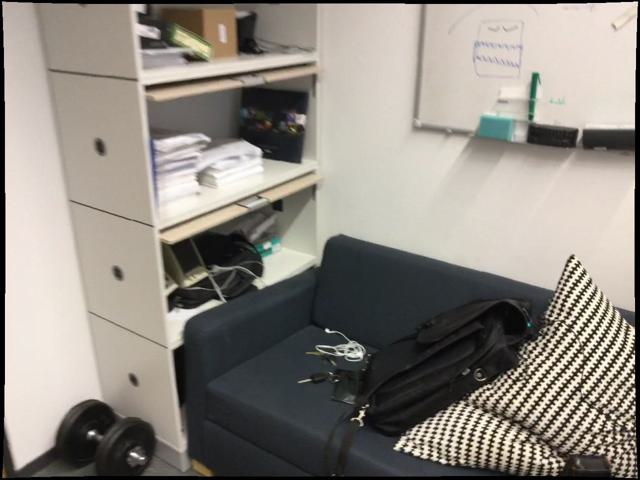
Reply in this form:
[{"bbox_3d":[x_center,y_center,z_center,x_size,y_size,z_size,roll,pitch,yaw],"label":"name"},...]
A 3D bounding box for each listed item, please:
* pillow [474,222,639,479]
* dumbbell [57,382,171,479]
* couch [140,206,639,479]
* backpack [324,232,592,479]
[{"bbox_3d":[0.759,0.310,1.530,0.460,0.480,0.580,15,27,31],"label":"pillow"},{"bbox_3d":[-0.689,0.661,1.940,0.320,0.200,0.180,16,27,31],"label":"dumbbell"},{"bbox_3d":[0.310,0.470,1.780,1.509,0.671,0.810,15,27,31],"label":"couch"},{"bbox_3d":[0.390,0.290,1.640,0.550,0.370,0.530,15,27,31],"label":"backpack"}]
